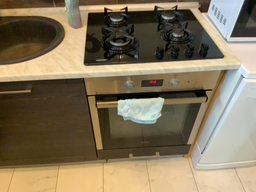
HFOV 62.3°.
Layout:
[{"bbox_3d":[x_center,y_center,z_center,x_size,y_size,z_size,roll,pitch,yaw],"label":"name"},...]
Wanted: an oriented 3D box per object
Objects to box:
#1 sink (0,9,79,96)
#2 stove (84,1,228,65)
[{"bbox_3d":[-0.610,-0.250,1.110,0.630,0.180,0.520,-2,45,-4],"label":"sink"},{"bbox_3d":[0.100,-0.350,1.080,0.600,0.050,0.540,-2,45,-4],"label":"stove"}]
